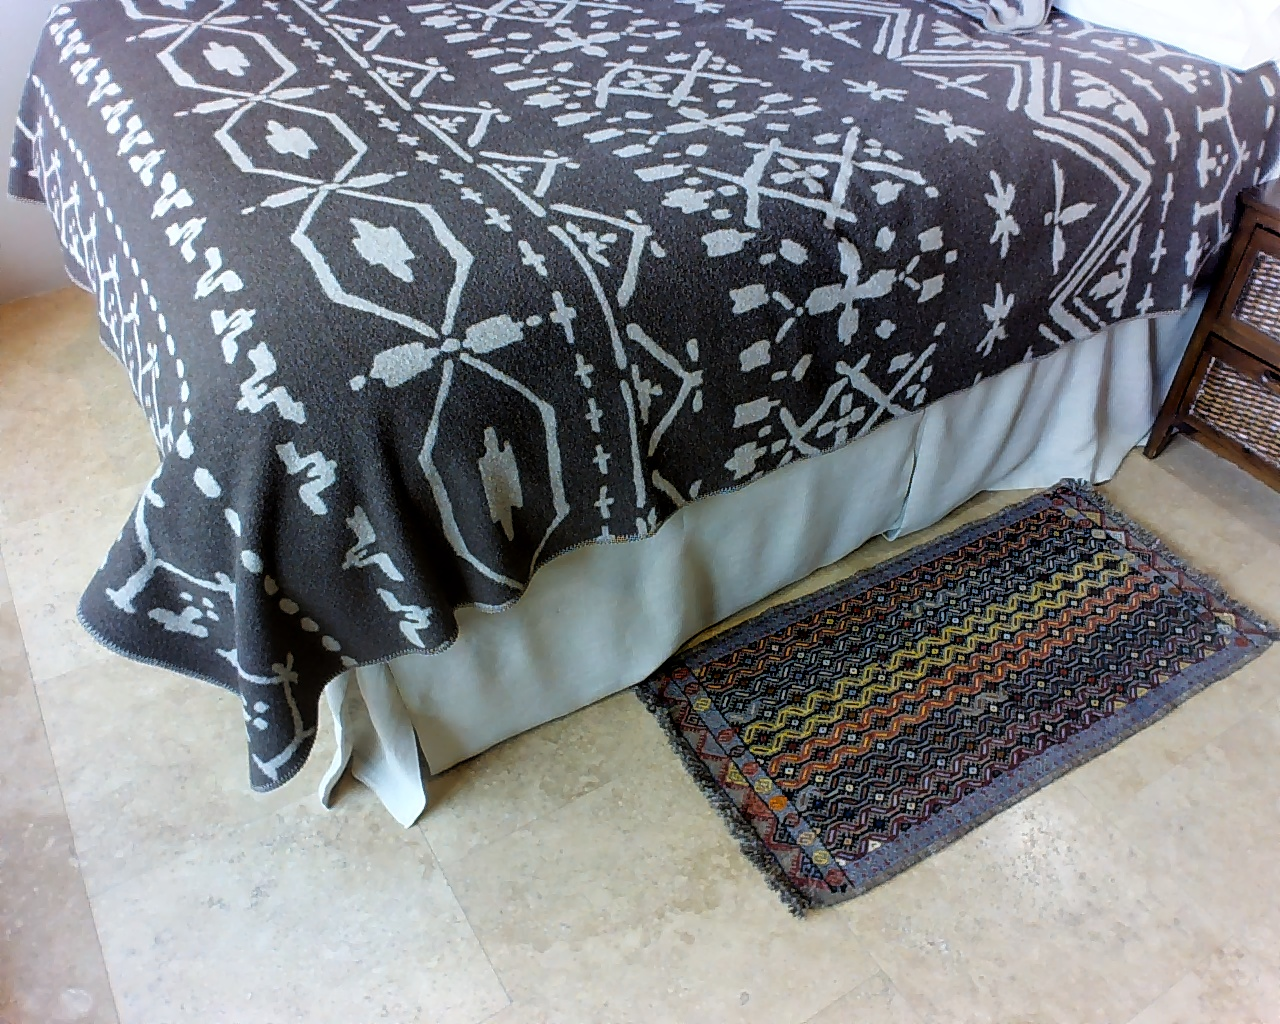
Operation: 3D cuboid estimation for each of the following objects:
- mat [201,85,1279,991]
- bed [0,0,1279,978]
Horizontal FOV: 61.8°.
[{"bbox_3d":[-0.010,-0.430,2.640,1.280,0.060,2.970,-23,47,-24],"label":"mat"},{"bbox_3d":[-0.080,-0.620,2.260,2.370,0.830,1.880,-23,47,-24],"label":"bed"}]
